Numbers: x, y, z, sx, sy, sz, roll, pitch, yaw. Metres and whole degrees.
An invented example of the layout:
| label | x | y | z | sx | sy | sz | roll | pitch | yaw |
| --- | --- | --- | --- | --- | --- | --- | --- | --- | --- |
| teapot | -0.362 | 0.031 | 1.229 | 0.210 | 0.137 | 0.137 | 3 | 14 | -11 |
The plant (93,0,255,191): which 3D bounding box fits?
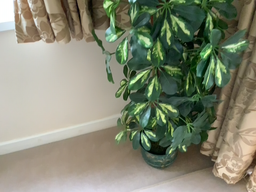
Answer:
| label | x | y | z | sx | sy | sz | roll | pitch | yaw |
| --- | --- | --- | --- | --- | --- | --- | --- | --- | --- |
| plant | 0.130 | -0.140 | 0.840 | 0.440 | 1.140 | 0.470 | -10 | 39 | -7 |
